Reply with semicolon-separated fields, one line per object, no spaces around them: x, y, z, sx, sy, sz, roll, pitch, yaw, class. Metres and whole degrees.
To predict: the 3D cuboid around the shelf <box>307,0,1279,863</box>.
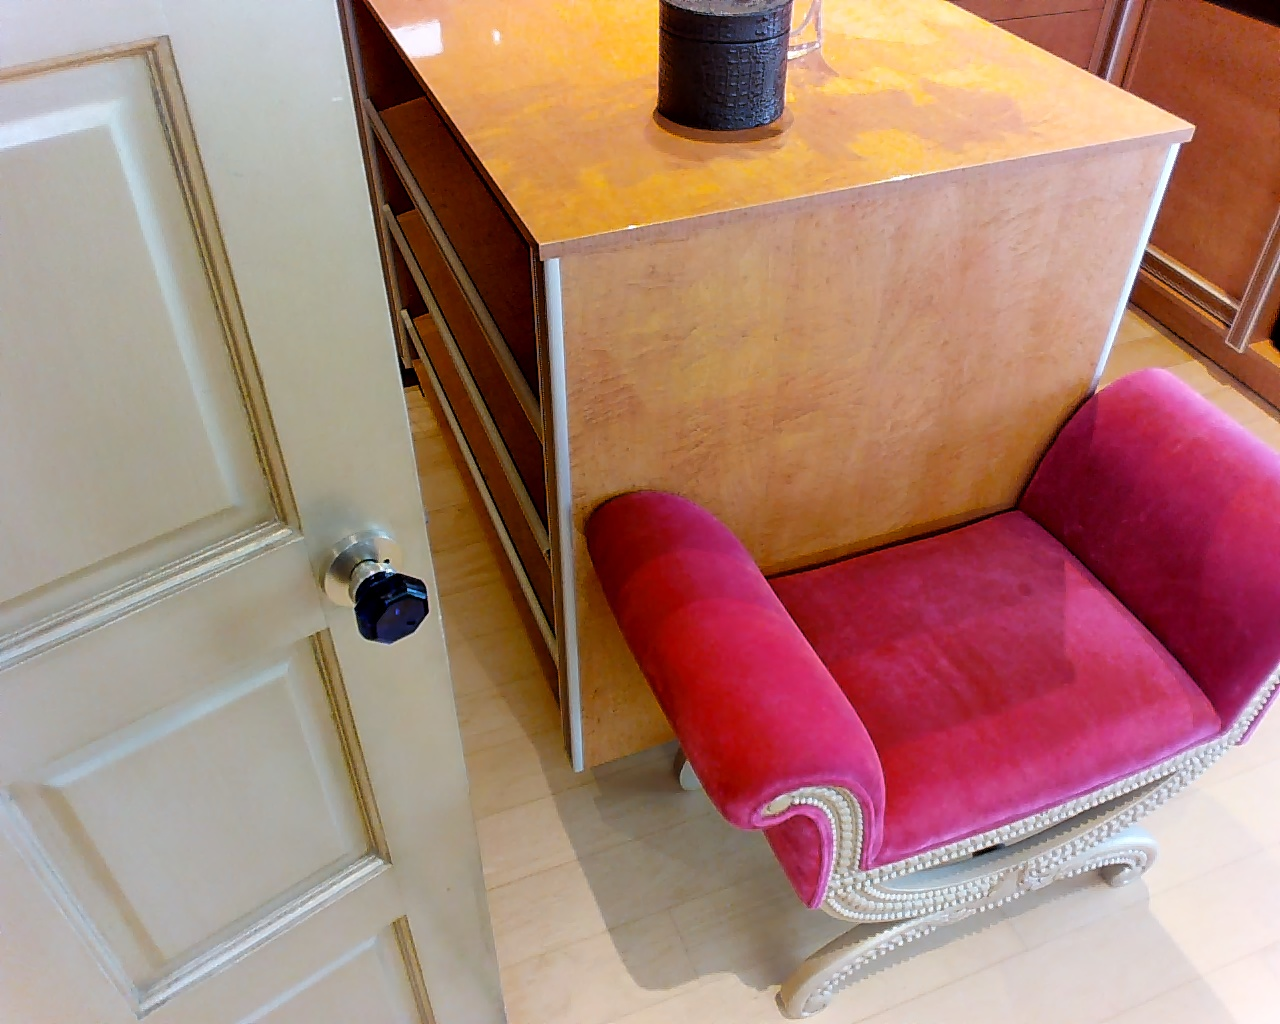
0.060;-0.390;1.990;0.960;1.080;1.400;-15;44;-16;shelf
